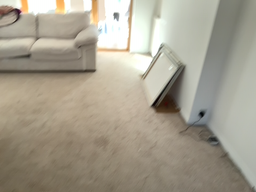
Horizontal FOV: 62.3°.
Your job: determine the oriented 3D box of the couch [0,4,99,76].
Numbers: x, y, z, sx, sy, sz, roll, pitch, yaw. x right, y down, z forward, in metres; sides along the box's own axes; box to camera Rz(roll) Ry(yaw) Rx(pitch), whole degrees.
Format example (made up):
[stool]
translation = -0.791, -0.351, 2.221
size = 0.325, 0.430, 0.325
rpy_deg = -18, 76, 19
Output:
[couch]
translation = -1.570, -0.980, 3.590
size = 2.100, 0.890, 1.060
rpy_deg = -1, 30, -9
